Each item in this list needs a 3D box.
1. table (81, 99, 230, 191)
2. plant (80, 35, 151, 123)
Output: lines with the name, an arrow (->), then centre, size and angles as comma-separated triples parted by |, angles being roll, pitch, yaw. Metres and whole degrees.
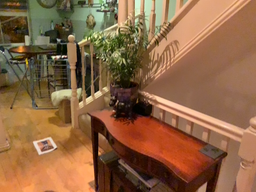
table -> 0.100, 0.560, 1.520 | 0.450, 0.760, 0.910 | -14, 26, -37
plant -> -0.110, -0.160, 1.610 | 0.300, 0.540, 0.440 | -15, 26, -37
